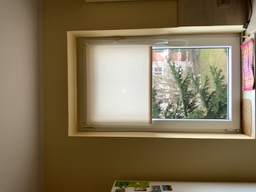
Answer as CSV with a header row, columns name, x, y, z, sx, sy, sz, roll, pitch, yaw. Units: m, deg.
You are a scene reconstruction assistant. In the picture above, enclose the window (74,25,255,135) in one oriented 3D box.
name,x,y,z,sx,sy,sz,roll,pitch,yaw
window,0.320,-0.130,1.830,0.110,1.570,0.900,-2,-89,-87
